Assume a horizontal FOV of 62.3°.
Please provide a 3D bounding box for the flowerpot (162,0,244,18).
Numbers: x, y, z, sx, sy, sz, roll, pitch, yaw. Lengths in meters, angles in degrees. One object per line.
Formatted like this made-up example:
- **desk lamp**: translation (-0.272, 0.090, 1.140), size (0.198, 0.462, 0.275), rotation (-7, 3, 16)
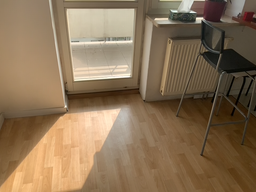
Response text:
- **flowerpot**: translation (0.730, -1.060, 2.050), size (0.610, 0.460, 0.470), rotation (-7, 35, -14)

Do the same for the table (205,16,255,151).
- **table**: translation (1.390, -0.100, 1.920), size (0.630, 0.930, 1.180), rotation (-4, 34, -11)
